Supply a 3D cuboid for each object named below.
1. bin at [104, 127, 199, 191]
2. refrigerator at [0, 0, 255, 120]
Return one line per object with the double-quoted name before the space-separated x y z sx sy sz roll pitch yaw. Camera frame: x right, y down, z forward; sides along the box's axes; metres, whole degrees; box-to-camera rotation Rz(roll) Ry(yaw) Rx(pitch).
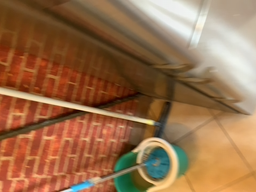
"bin" 0.120 0.430 1.280 0.450 0.220 0.310 -34 60 28
"refrigerator" -0.130 -0.410 0.540 0.710 2.010 0.610 11 86 40
